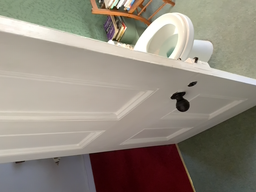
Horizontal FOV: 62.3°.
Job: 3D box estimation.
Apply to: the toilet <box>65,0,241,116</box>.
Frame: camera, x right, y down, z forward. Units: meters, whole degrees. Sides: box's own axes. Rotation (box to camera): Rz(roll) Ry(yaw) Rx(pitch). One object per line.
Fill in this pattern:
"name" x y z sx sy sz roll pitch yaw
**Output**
"toilet" 0.120 -0.280 1.430 0.700 0.780 0.570 -43 54 40
